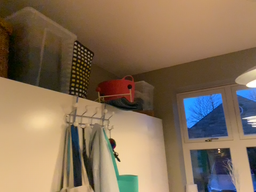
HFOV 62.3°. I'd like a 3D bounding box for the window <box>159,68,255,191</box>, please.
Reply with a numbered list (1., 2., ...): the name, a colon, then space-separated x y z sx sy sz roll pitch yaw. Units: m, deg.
1. window: 1.220 0.580 2.500 1.460 1.620 0.480 -9 -14 22
